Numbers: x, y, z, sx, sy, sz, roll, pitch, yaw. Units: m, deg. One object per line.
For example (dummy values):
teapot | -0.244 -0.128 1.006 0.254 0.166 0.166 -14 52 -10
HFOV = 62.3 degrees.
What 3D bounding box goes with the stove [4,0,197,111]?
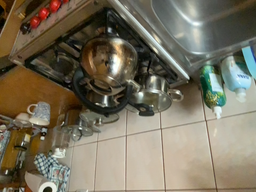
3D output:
stove | -0.080 -0.170 0.890 0.510 0.180 0.580 -18 147 34
